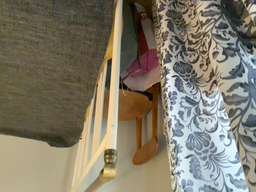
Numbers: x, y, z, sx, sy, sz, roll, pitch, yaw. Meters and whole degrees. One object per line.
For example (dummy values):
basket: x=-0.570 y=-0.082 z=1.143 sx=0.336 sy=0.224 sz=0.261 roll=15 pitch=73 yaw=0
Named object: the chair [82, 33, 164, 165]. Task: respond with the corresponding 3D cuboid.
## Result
chair: x=-0.050 y=0.020 z=1.430 sx=0.390 sy=0.760 sz=0.370 roll=9 pitch=148 yaw=-14
